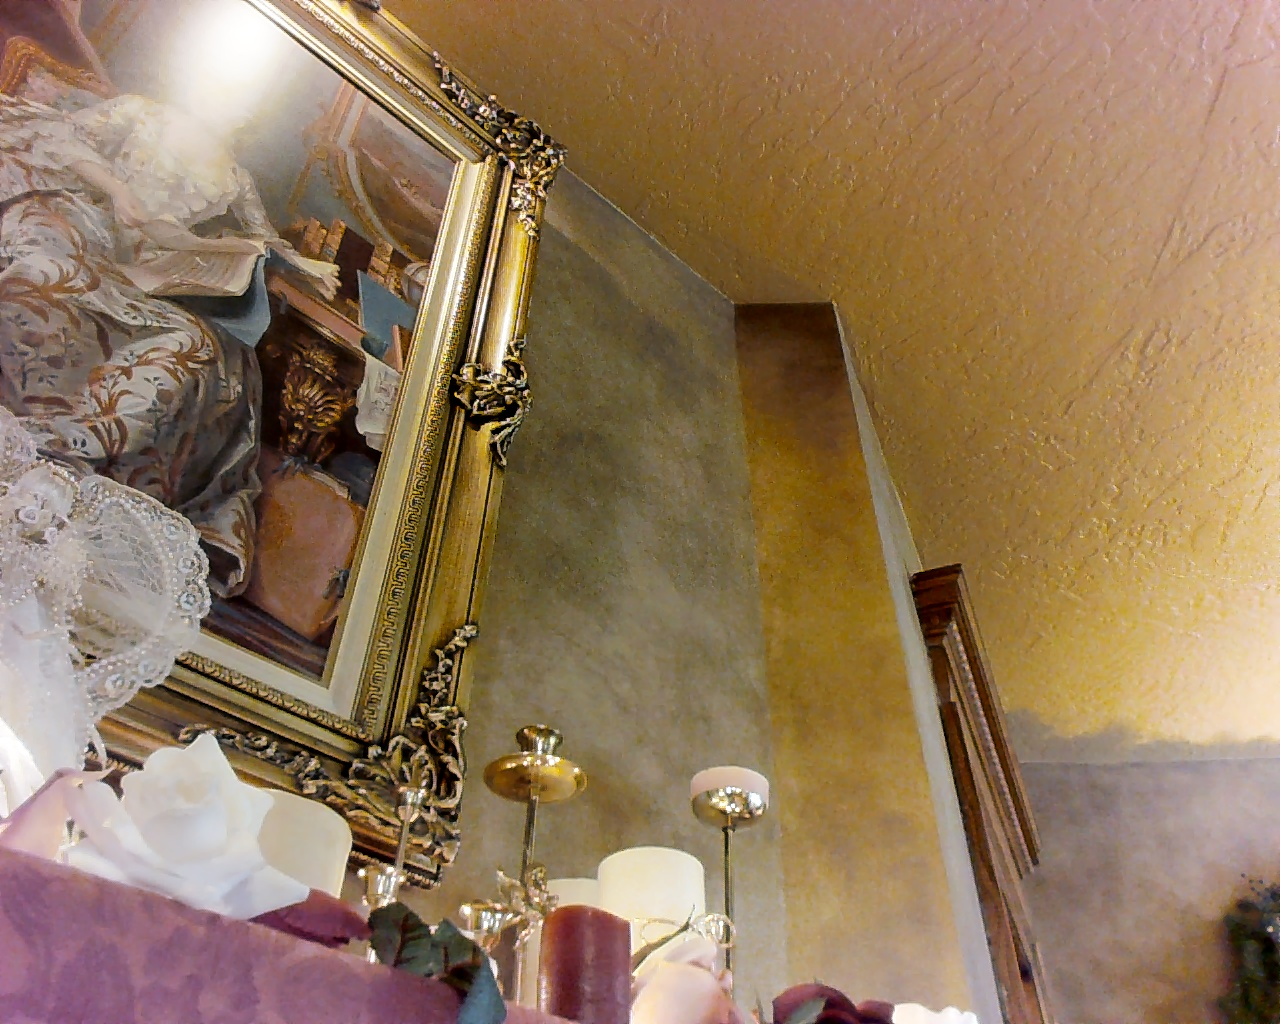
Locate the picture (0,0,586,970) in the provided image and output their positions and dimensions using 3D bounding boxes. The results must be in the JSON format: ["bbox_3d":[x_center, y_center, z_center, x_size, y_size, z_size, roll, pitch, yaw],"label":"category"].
[{"bbox_3d":[-0.440,-0.280,0.960,0.910,1.100,0.080,33,-51,-30],"label":"picture"}]
